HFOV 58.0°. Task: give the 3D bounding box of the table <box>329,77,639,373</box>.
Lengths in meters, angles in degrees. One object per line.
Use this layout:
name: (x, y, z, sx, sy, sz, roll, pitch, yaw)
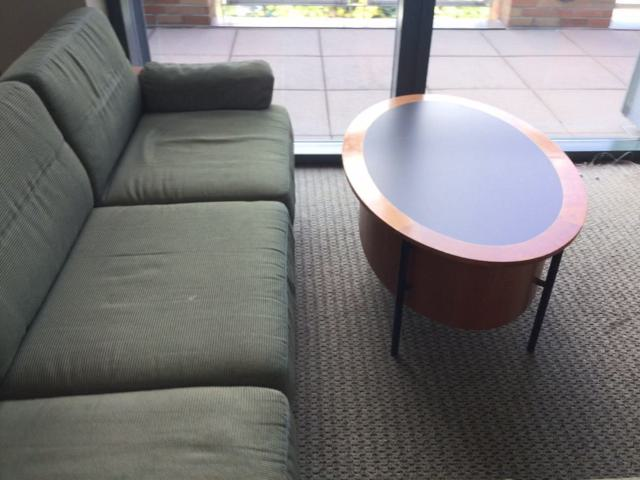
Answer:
table: (0.410, -0.130, 1.840, 0.700, 0.380, 1.060, -4, 34, 1)
